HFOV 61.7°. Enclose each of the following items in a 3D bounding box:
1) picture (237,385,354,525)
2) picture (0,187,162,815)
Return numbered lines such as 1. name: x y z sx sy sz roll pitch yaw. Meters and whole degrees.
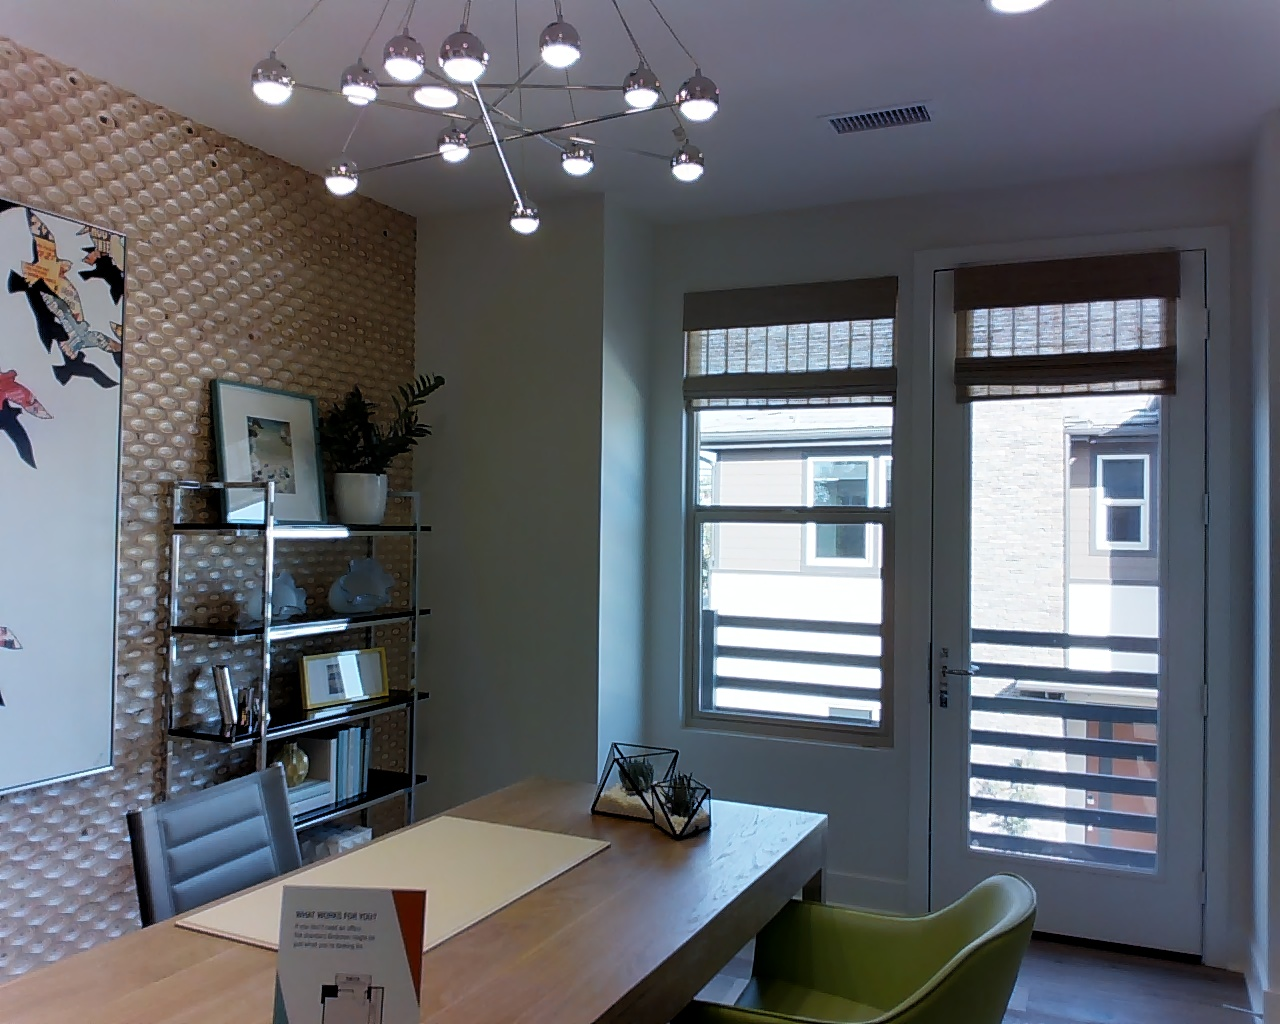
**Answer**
1. picture: -1.169 -0.180 3.670 0.080 0.450 0.470 0 -1 25
2. picture: -1.739 -0.030 2.530 0.090 1.581 1.380 0 -1 25
